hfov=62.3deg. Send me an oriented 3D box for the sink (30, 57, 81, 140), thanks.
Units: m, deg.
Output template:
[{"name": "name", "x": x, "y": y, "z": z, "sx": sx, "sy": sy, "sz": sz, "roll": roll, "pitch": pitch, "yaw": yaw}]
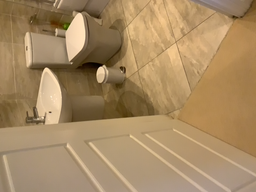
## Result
[{"name": "sink", "x": -0.620, "y": 0.000, "z": 1.740, "sx": 0.550, "sy": 0.180, "sz": 0.460, "roll": 40, "pitch": 120, "yaw": 45}]
